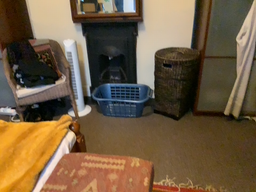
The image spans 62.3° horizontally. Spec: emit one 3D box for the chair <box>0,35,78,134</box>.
[{"bbox_3d":[-0.930,-0.160,2.190,0.580,0.780,0.570,-14,29,-22],"label":"chair"}]

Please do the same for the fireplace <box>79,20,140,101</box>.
[{"bbox_3d":[-0.180,-0.390,2.470,0.630,0.910,0.160,1,26,6],"label":"fireplace"}]

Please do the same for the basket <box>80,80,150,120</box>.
[{"bbox_3d":[-0.110,0.030,2.330,0.690,0.260,0.420,1,27,7],"label":"basket"}]

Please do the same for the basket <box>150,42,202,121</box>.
[{"bbox_3d":[0.450,-0.160,2.170,0.430,0.670,0.450,1,26,6],"label":"basket"}]
